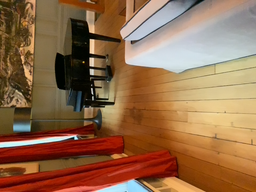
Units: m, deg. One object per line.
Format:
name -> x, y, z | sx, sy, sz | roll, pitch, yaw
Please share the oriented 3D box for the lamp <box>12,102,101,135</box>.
lamp -> -1.540, 0.480, 4.690 | 0.550, 1.750, 0.470 | -138, 55, -60
